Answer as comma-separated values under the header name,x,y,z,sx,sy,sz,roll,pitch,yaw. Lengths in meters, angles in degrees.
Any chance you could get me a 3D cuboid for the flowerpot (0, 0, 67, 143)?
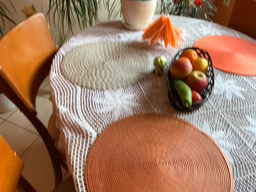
name,x,y,z,sx,sy,sz,roll,pitch,yaw
flowerpot,-0.850,-0.330,1.400,0.610,1.090,0.680,-13,44,-17
